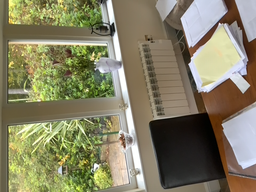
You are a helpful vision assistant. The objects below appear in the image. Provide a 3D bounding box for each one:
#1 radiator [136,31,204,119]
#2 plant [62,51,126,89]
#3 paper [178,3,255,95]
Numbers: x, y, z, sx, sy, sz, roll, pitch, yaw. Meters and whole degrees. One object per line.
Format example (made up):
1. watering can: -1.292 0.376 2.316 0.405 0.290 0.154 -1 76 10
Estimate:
1. radiator: 0.480 -0.270 2.510 0.150 0.570 1.030 132 131 -62
2. plant: -0.430 -0.300 2.560 0.430 0.670 0.250 126 137 -59
3. paper: 0.470 -0.230 1.170 0.410 0.110 0.320 132 132 -62
